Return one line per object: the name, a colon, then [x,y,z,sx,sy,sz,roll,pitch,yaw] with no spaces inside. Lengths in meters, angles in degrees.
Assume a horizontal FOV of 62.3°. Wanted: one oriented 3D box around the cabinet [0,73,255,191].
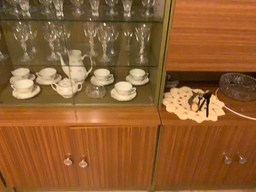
cabinet: [-0.280,0.250,1.380,2.750,0.640,0.460,1,34,-3]
